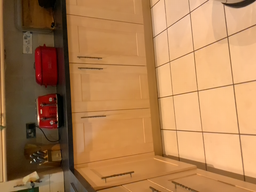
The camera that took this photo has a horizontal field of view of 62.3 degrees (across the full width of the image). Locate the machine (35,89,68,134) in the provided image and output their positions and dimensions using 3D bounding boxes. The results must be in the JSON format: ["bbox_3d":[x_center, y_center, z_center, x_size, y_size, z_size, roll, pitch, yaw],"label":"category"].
[{"bbox_3d":[-0.660,0.130,1.810,0.260,0.230,0.340,165,101,-64],"label":"machine"}]
